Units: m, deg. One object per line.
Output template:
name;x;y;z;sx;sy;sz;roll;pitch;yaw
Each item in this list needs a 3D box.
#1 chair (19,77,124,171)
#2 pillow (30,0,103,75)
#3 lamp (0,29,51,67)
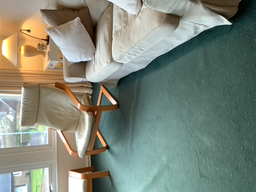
chair;-0.720;0.270;2.530;0.790;0.960;0.680;46;127;50
pillow;-0.590;-0.620;2.020;0.520;0.290;0.670;-21;44;57
lamp;-1.340;-0.600;2.750;0.370;0.570;0.320;-13;78;58
